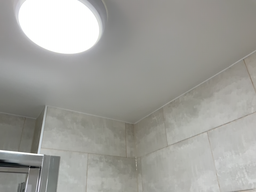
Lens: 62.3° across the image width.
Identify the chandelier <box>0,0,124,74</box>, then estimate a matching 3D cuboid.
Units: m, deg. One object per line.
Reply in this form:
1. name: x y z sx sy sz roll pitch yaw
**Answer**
1. chandelier: -0.240 -0.250 0.750 0.320 0.090 0.350 -16 148 22
